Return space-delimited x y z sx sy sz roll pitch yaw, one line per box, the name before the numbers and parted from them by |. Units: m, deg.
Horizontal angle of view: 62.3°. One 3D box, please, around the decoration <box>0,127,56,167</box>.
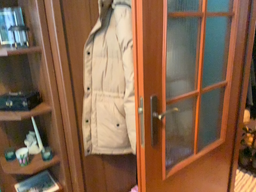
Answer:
decoration | -0.610 0.300 1.290 0.280 0.110 0.220 -5 18 -8
